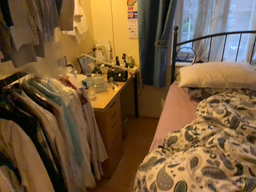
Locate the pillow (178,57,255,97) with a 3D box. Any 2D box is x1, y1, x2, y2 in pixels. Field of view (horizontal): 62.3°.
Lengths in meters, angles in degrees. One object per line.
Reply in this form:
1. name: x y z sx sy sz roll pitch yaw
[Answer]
1. pillow: 0.810 -0.200 1.980 0.630 0.210 0.420 5 26 16
